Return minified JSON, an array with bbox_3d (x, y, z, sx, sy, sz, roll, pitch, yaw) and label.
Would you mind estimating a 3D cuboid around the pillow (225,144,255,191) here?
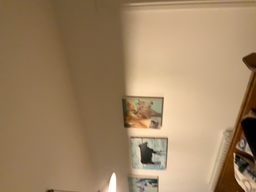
[{"bbox_3d":[1.180,0.800,2.110,0.350,0.200,0.550,-79,-11,-52],"label":"pillow"}]
